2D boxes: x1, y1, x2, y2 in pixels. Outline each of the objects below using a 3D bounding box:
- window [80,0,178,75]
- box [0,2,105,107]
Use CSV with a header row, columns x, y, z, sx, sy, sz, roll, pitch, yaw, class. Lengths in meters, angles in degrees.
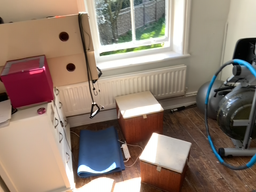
x,y,z,sx,sy,sz,roll,pitch,yaw,class
0.000,-1.240,2.350,1.070,1.860,0.360,-13,32,-14,window
-0.690,-0.400,1.750,0.820,0.550,0.700,-12,32,-13,box
